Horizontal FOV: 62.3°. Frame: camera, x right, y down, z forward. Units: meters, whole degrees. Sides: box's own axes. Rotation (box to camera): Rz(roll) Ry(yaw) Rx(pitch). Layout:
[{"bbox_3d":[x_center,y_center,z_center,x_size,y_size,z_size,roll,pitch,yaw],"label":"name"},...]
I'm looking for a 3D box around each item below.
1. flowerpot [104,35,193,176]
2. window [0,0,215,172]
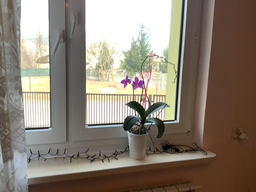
[{"bbox_3d":[0.100,0.040,1.390,0.430,0.780,0.360,-1,9,-18],"label":"flowerpot"},{"bbox_3d":[-0.080,-0.350,1.360,1.390,1.570,0.090,-1,9,-18],"label":"window"}]
